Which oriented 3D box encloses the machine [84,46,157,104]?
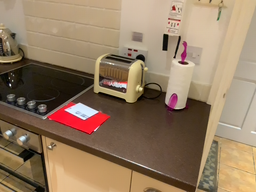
[{"bbox_3d":[-0.040,-0.130,1.170,0.310,0.190,0.250,16,29,19],"label":"machine"}]
